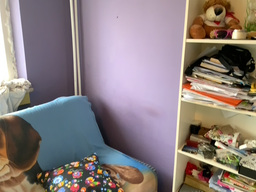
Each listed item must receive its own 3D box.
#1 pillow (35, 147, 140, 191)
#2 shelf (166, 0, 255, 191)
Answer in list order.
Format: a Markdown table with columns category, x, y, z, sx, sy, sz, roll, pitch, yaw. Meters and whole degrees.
| category | x | y | z | sx | sy | sz | roll | pitch | yaw |
| --- | --- | --- | --- | --- | --- | --- | --- | --- | --- |
| pillow | -0.270 | 0.580 | 1.450 | 0.560 | 0.140 | 0.430 | 12 | 19 | 34 |
| shelf | 0.620 | 0.230 | 1.290 | 0.640 | 1.820 | 0.280 | 14 | 20 | 38 |
